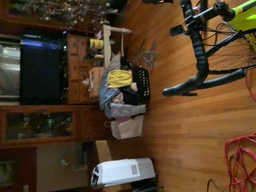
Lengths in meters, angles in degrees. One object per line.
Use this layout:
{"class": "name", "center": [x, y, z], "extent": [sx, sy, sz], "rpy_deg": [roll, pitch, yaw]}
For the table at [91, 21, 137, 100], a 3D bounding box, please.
{"class": "table", "center": [-0.240, -0.500, 3.310], "extent": [0.600, 0.460, 1.060], "rpy_deg": [-21, 71, 61]}
